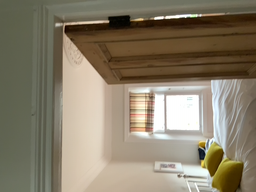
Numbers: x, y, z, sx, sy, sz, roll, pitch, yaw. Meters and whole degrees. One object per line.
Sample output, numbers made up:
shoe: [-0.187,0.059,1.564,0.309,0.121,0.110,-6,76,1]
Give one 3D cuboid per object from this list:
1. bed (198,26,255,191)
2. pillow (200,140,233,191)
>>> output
bed: [1.570,0.360,3.050,1.740,0.760,2.150,9,-99,-82]
pillow: [1.140,0.930,2.800,0.570,0.260,0.590,17,-107,-82]
